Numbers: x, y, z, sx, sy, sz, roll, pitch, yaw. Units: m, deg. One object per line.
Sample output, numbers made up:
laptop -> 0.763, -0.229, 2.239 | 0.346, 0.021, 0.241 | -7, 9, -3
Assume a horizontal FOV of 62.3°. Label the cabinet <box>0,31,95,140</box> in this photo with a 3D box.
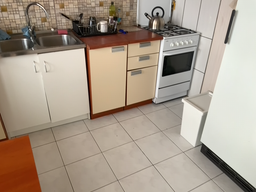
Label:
cabinet -> -0.830, -0.150, 2.170 | 0.800, 0.840, 0.530 | -13, 33, -24
